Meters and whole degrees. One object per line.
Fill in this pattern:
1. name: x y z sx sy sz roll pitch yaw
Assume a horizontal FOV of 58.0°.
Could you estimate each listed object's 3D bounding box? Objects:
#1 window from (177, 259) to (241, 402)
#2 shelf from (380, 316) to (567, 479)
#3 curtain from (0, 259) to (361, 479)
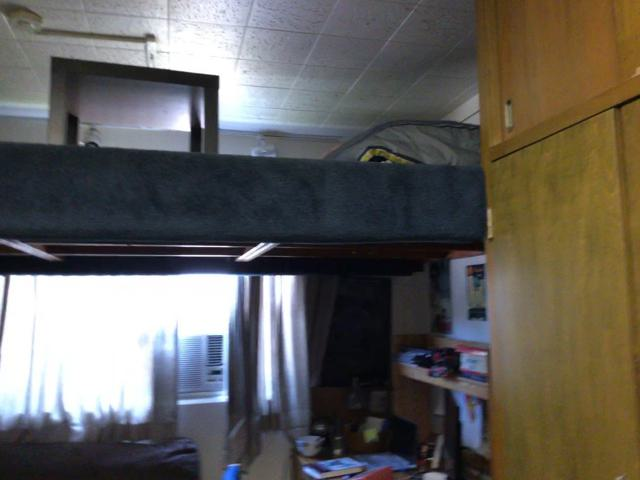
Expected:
1. window: -0.700 0.550 3.600 0.360 0.840 0.240 0 -9 -16
2. shelf: 0.700 0.800 2.960 0.340 0.770 1.160 0 -9 -15
3. curtain: -0.990 0.760 3.290 2.390 1.240 0.360 0 -9 -16
